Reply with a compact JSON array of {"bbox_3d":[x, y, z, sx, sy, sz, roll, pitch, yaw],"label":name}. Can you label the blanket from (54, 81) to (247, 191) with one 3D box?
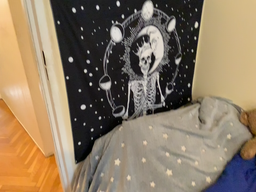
[{"bbox_3d":[0.180,0.250,1.050,0.410,0.300,0.910,23,35,39],"label":"blanket"}]
